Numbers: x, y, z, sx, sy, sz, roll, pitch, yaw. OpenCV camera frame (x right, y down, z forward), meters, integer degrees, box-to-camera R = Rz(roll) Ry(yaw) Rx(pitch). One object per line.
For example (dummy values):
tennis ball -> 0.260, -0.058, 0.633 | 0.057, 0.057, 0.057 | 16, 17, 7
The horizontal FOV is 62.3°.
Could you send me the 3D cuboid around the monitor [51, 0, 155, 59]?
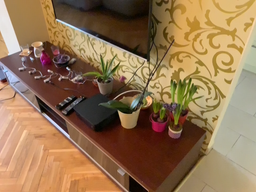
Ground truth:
monitor -> -0.270, -0.750, 1.540 | 1.110, 0.620, 0.070 | 32, 48, 32
